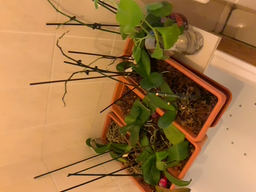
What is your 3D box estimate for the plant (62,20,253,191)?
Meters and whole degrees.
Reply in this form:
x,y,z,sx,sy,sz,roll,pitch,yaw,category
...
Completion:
x,y,z,sx,sy,sz,roll,pitch,yaw,category
0.050,0.110,0.880,0.460,0.400,0.660,40,125,39,plant
